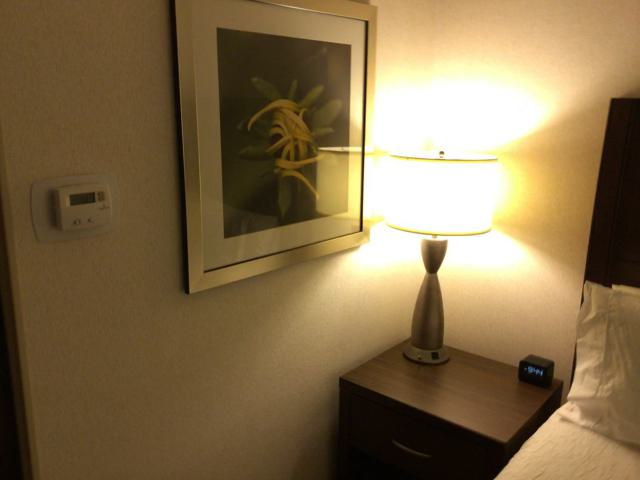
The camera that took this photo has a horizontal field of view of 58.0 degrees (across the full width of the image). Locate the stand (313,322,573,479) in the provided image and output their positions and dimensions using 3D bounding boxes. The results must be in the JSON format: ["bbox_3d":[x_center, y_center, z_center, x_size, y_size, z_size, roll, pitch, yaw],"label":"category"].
[{"bbox_3d":[0.450,0.730,2.080,0.690,0.620,0.590,5,14,42],"label":"stand"}]

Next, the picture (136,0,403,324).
[{"bbox_3d":[-0.070,-0.290,1.690,0.110,0.840,0.880,5,14,42],"label":"picture"}]

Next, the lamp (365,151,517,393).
[{"bbox_3d":[0.440,0.080,2.050,0.370,0.750,0.370,5,14,42],"label":"lamp"}]

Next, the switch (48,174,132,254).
[{"bbox_3d":[-0.490,-0.060,1.240,0.050,0.150,0.140,5,14,42],"label":"switch"}]
